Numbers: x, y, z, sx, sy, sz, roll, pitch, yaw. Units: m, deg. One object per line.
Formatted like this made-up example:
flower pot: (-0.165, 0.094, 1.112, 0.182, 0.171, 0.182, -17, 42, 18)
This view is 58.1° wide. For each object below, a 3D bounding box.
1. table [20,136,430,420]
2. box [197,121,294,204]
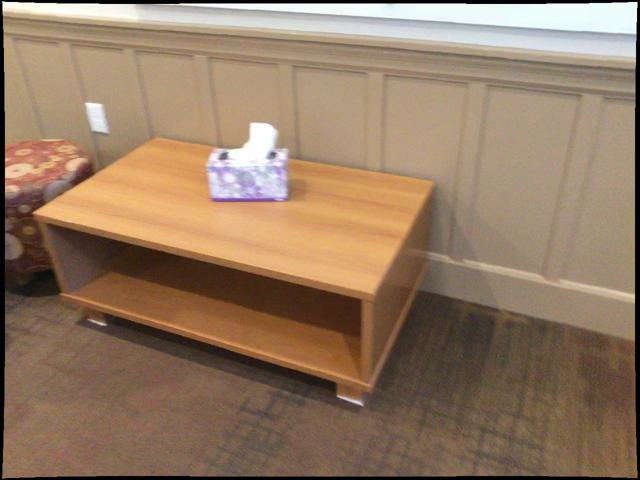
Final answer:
table: (-0.269, 0.050, 1.920, 1.108, 0.451, 0.630, 11, 36, 20)
box: (-0.219, -0.241, 1.780, 0.249, 0.190, 0.190, 0, 33, 5)
